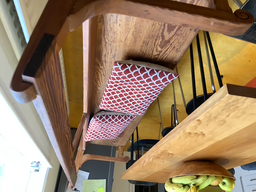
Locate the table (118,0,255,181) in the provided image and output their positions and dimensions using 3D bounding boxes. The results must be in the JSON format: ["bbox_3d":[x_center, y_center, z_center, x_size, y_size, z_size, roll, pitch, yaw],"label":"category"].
[{"bbox_3d":[0.360,0.070,1.460,0.570,0.760,1.640,7,151,-9],"label":"table"}]
